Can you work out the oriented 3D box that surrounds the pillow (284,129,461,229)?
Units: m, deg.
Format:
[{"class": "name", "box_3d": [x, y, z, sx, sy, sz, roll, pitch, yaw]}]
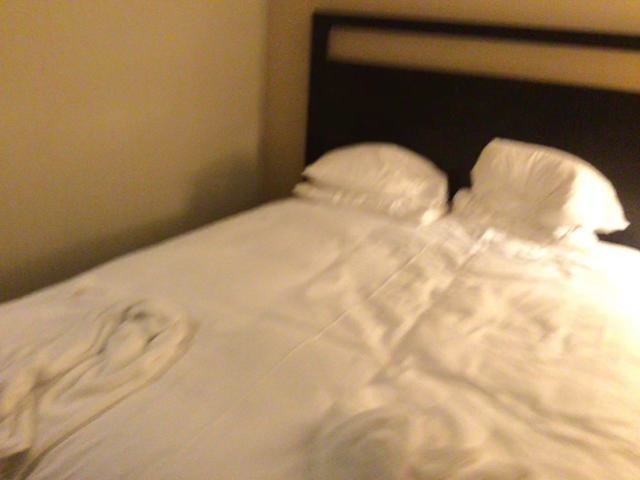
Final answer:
[{"class": "pillow", "box_3d": [0.220, -0.280, 2.440, 0.610, 0.240, 0.400, 15, 22, 26]}]

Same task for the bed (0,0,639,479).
[{"class": "bed", "box_3d": [0.160, 0.110, 1.610, 1.620, 1.460, 2.040, 15, 22, 26]}]

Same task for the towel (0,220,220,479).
[{"class": "towel", "box_3d": [-0.600, 0.270, 1.170, 0.500, 0.190, 0.600, 15, 48, 26]}]

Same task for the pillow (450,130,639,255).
[{"class": "pillow", "box_3d": [0.860, -0.200, 2.200, 0.630, 0.320, 0.220, 15, 22, 26]}]
